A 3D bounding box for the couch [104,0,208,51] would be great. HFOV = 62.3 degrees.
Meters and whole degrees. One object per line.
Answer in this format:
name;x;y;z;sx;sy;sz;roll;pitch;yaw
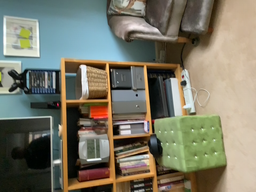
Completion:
couch;0.210;-0.860;1.870;0.700;0.630;0.690;-123;37;-54
